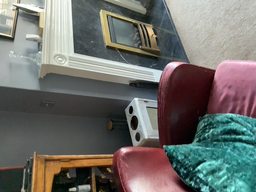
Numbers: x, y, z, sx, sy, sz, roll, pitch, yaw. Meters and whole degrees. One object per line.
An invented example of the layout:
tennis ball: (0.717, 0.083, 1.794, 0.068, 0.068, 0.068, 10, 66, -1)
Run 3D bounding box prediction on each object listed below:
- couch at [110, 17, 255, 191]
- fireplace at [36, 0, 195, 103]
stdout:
couch: (0.510, 0.200, 1.000, 0.760, 0.810, 0.860, 29, 109, 60)
fireplace: (-0.190, -0.740, 2.080, 0.560, 1.180, 1.410, -48, 44, 46)
